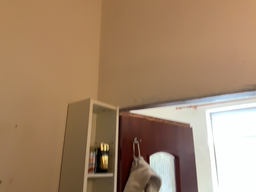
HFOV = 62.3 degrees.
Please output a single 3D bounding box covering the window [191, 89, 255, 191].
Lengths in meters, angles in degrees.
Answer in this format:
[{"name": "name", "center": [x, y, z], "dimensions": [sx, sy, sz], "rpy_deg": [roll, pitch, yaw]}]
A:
[{"name": "window", "center": [1.850, 1.120, 4.050], "dimensions": [1.020, 2.400, 0.340], "rpy_deg": [-9, -18, 29]}]
